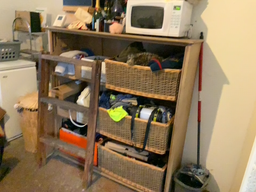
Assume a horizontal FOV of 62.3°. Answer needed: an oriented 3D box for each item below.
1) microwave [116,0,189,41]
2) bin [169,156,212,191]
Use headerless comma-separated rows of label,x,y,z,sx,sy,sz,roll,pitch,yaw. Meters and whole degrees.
microwave,0.180,-0.590,1.640,0.490,0.260,0.230,14,21,26
bin,0.550,0.780,1.880,0.280,0.290,0.330,13,20,24
